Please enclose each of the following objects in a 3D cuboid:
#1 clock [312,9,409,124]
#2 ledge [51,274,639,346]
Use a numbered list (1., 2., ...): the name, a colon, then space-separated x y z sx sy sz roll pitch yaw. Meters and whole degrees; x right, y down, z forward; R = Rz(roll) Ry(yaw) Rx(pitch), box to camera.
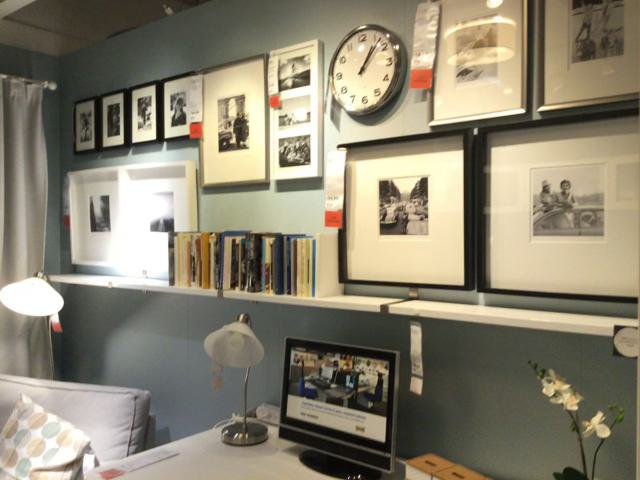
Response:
1. clock: 0.140 -0.620 2.110 0.380 0.330 0.060 -1 -2 38
2. ledge: -0.260 0.220 2.290 2.710 0.100 0.250 -1 -2 38
